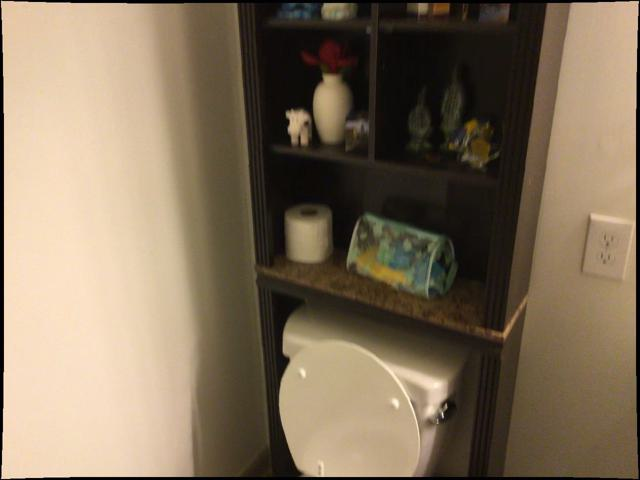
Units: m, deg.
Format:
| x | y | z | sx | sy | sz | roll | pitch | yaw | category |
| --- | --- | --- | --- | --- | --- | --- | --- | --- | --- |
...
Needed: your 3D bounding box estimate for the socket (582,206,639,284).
| x | y | z | sx | sy | sz | roll | pitch | yaw | category |
| --- | --- | --- | --- | --- | --- | --- | --- | --- | --- |
| 0.559 | 0.010 | 1.110 | 0.080 | 0.140 | 0.020 | 14 | 30 | 30 | socket |
